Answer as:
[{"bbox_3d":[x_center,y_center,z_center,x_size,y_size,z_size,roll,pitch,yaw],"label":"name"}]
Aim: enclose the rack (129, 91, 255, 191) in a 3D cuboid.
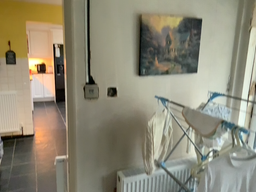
[{"bbox_3d":[0.510,0.780,1.310,0.770,1.460,0.790,-3,13,-21],"label":"rack"}]
